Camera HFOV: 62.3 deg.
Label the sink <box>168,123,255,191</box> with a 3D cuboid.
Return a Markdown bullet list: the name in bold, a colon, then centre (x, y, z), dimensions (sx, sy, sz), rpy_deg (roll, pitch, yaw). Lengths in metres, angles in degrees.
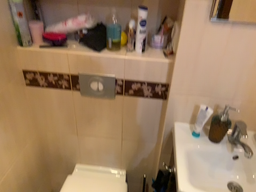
- **sink**: centre (0.440, 0.310, 0.840), dimensions (0.520, 0.140, 0.370), rpy_deg (6, 33, 4)
